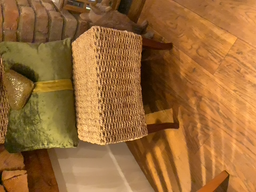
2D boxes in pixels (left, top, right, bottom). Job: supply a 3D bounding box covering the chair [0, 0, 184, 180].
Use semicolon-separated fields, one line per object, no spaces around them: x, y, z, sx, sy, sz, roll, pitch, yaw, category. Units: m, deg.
-0.340;-0.030;1.010;0.600;1.070;0.560;-7;86;53;chair
